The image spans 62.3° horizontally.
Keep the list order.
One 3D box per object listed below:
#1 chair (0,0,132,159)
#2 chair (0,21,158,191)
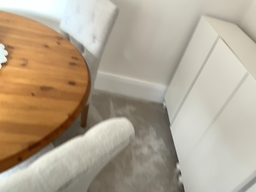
[{"bbox_3d":[-0.450,-0.180,1.390,0.480,0.970,0.550,35,40,19],"label":"chair"},{"bbox_3d":[-0.400,0.320,0.810,0.550,0.960,0.490,39,42,23],"label":"chair"}]
